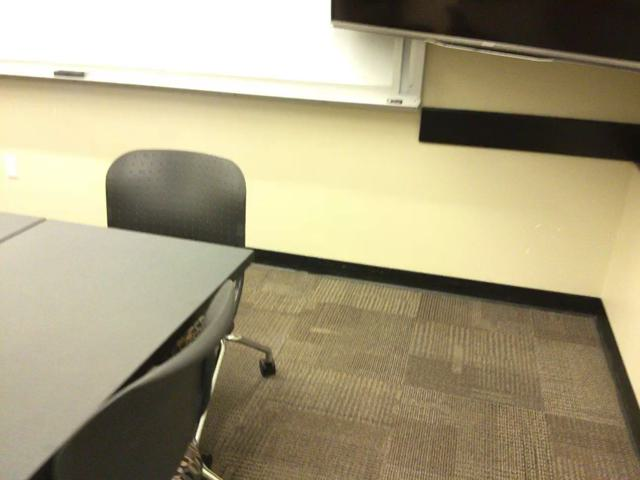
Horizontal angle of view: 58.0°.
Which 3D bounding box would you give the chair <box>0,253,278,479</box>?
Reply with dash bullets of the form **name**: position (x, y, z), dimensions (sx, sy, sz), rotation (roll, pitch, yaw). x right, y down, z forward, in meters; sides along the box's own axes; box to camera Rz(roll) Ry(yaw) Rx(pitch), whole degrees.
- **chair**: position (-0.300, 0.530, 1.070), dimensions (0.280, 0.840, 0.560), rotation (5, 22, 13)
